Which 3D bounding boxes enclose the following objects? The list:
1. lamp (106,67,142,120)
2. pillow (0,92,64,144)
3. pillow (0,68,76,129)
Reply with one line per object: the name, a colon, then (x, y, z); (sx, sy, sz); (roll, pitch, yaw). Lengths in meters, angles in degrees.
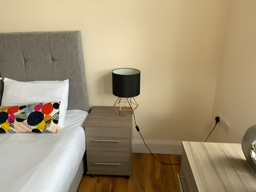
lamp: (-0.030, -0.030, 1.890); (0.290, 0.400, 0.290); (1, 20, 2)
pillow: (-0.830, 0.190, 1.720); (0.540, 0.260, 0.130); (-21, 46, 10)
pillow: (-0.810, 0.040, 1.850); (0.570, 0.390, 0.160); (-17, 44, 10)
